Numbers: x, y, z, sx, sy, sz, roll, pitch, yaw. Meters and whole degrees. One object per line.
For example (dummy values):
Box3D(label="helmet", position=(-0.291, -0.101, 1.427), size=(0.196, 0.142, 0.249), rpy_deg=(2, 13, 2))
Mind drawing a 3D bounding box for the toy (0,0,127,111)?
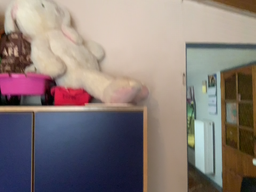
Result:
Box3D(label="toy", position=(-0.500, -0.330, 1.180), size=(0.930, 0.790, 0.630), rpy_deg=(0, 0, -6))
